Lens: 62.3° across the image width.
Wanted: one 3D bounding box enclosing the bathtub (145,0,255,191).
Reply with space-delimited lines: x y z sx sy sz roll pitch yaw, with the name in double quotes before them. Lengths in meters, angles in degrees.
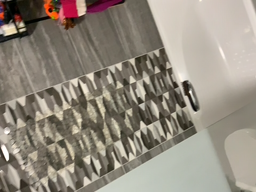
"bathtub" 0.710 -0.190 1.290 1.630 0.550 0.660 68 159 -3
